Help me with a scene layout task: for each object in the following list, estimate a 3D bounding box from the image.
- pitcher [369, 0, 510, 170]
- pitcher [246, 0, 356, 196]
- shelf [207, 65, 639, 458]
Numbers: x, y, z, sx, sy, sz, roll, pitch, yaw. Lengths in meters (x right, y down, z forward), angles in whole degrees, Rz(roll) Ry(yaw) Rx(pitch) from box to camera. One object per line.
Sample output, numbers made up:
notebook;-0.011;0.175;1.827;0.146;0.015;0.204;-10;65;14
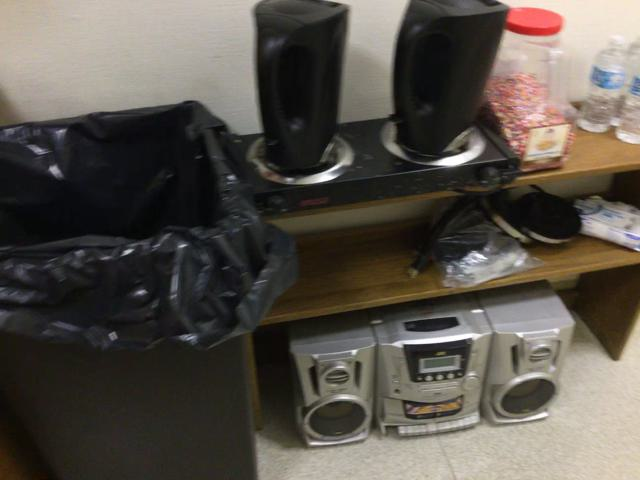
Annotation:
pitcher;0.190;-0.280;0.990;0.170;0.270;0.130;-8;40;-9
pitcher;-0.030;-0.230;0.940;0.140;0.280;0.120;-8;40;-9
shelf;0.320;0.060;1.360;1.040;0.760;0.320;-8;40;-9
